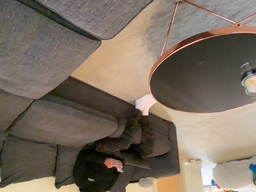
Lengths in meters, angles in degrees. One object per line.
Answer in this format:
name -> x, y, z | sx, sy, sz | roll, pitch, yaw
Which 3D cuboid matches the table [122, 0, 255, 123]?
table -> 0.540, -0.220, 1.400 | 0.800, 0.370, 0.820 | 26, 142, -35
